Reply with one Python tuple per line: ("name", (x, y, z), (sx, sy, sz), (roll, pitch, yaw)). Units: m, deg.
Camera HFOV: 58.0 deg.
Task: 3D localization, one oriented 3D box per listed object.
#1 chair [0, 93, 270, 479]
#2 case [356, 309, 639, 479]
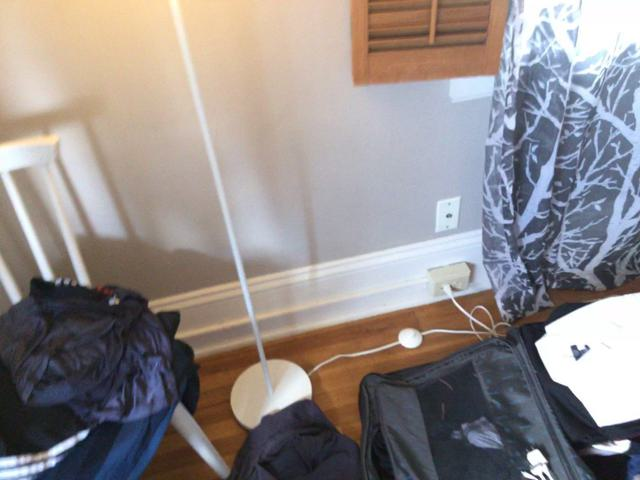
("chair", (-0.570, 0.270, 1.180), (0.530, 0.830, 0.640), (25, 49, 32))
("case", (0.520, 0.460, 1.320), (0.810, 0.160, 0.600), (-5, 40, 0))
